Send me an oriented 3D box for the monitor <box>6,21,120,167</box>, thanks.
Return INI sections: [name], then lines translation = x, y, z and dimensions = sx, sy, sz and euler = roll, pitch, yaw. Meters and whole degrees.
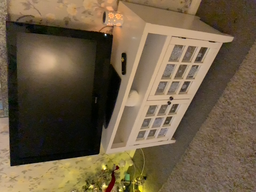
[monitor]
translation = -0.430, 0.030, 1.430
dimensions = 0.050, 0.660, 0.920
euler = -140, 54, -58
